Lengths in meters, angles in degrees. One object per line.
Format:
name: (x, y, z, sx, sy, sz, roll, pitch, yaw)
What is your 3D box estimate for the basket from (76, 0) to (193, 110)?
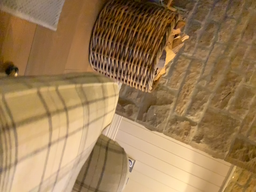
basket: (0.070, -0.340, 1.520, 0.540, 0.490, 0.680, -20, 132, -77)
